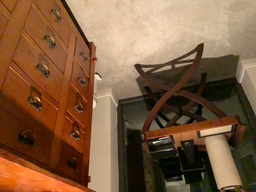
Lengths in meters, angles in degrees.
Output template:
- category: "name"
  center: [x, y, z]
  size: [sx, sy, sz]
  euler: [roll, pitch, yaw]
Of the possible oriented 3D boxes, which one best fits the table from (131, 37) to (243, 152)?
- category: "table"
  center: [0.420, 0.010, 1.700]
  size: [0.640, 0.640, 0.500]
  euler: [-11, 145, 11]
